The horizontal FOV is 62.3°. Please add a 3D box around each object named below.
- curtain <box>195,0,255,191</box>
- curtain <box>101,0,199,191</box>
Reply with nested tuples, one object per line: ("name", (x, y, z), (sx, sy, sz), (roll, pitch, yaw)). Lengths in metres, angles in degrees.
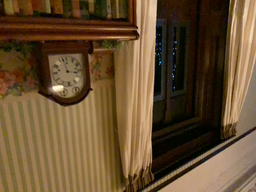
("curtain", (1.320, -0.230, 2.730), (0.570, 3.440, 0.390), (8, -163, 30))
("curtain", (0.160, 0.080, 1.710), (0.510, 3.400, 0.470), (-12, -161, -36))
